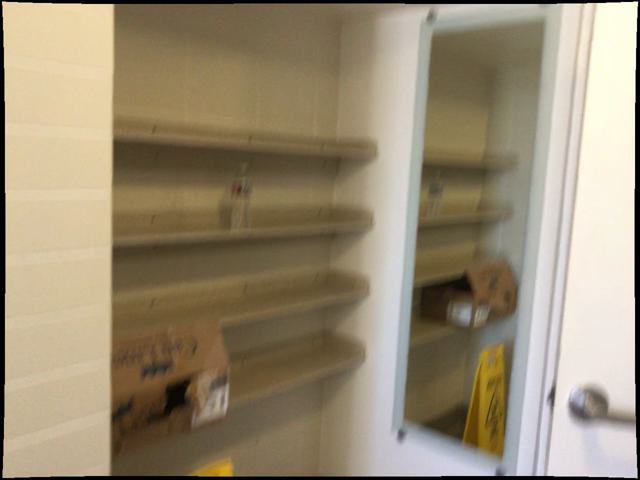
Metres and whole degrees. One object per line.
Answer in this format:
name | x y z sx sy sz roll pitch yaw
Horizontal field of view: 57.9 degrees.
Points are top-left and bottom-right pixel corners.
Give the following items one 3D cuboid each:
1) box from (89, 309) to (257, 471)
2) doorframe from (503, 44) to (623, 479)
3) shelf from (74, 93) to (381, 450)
box | -0.400 0.390 1.610 0.210 0.300 0.400 10 11 43
doorframe | 0.749 0.340 1.850 0.160 1.812 0.230 10 11 43
shelf | -0.240 0.050 1.960 0.230 0.941 1.069 10 11 43
